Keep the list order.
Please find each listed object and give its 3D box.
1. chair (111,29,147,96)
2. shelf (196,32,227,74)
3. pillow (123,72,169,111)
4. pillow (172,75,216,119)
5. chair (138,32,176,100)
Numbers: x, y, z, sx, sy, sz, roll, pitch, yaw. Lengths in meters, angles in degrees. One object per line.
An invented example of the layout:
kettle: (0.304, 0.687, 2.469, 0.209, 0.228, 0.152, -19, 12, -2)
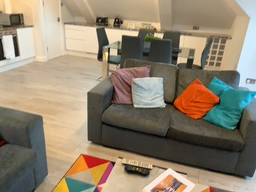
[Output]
chair: (0.020, -0.620, 3.800, 0.460, 1.030, 0.560, 9, 24, 13)
shelf: (2.080, -1.110, 5.360, 0.520, 0.880, 0.660, 10, 24, 13)
pillow: (0.210, -0.040, 2.430, 0.480, 0.390, 0.140, 6, -4, -19)
pillow: (0.730, 0.030, 2.400, 0.250, 0.410, 0.410, 8, -15, -27)
chair: (0.510, -0.540, 3.710, 0.460, 1.020, 0.570, 9, 24, 13)
